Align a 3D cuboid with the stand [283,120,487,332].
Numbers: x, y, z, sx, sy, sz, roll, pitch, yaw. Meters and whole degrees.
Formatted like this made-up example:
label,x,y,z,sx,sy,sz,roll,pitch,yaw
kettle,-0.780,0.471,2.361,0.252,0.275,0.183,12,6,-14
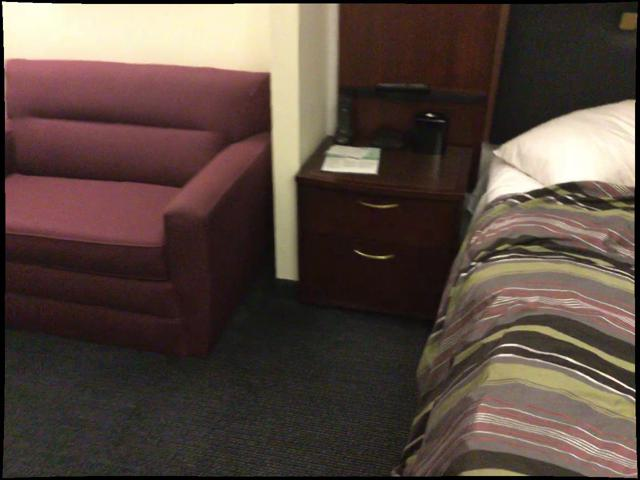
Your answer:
label,x,y,z,sx,sy,sz,roll,pitch,yaw
stand,0.270,-0.080,2.340,0.699,0.620,0.500,7,31,12
